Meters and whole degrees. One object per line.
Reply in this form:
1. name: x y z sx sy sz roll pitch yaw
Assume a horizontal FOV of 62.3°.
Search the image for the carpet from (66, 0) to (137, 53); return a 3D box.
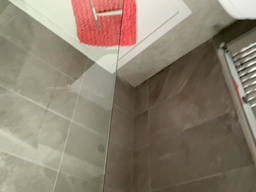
1. carpet: -0.160 -0.520 1.390 0.430 0.050 0.540 2 141 2
